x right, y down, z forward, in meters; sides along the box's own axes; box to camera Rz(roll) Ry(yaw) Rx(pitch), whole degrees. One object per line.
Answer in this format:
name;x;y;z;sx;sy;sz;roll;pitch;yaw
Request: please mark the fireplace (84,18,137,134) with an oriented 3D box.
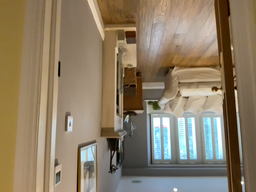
fireplace;-0.160;-0.140;3.130;0.540;1.290;1.600;-1;173;3
